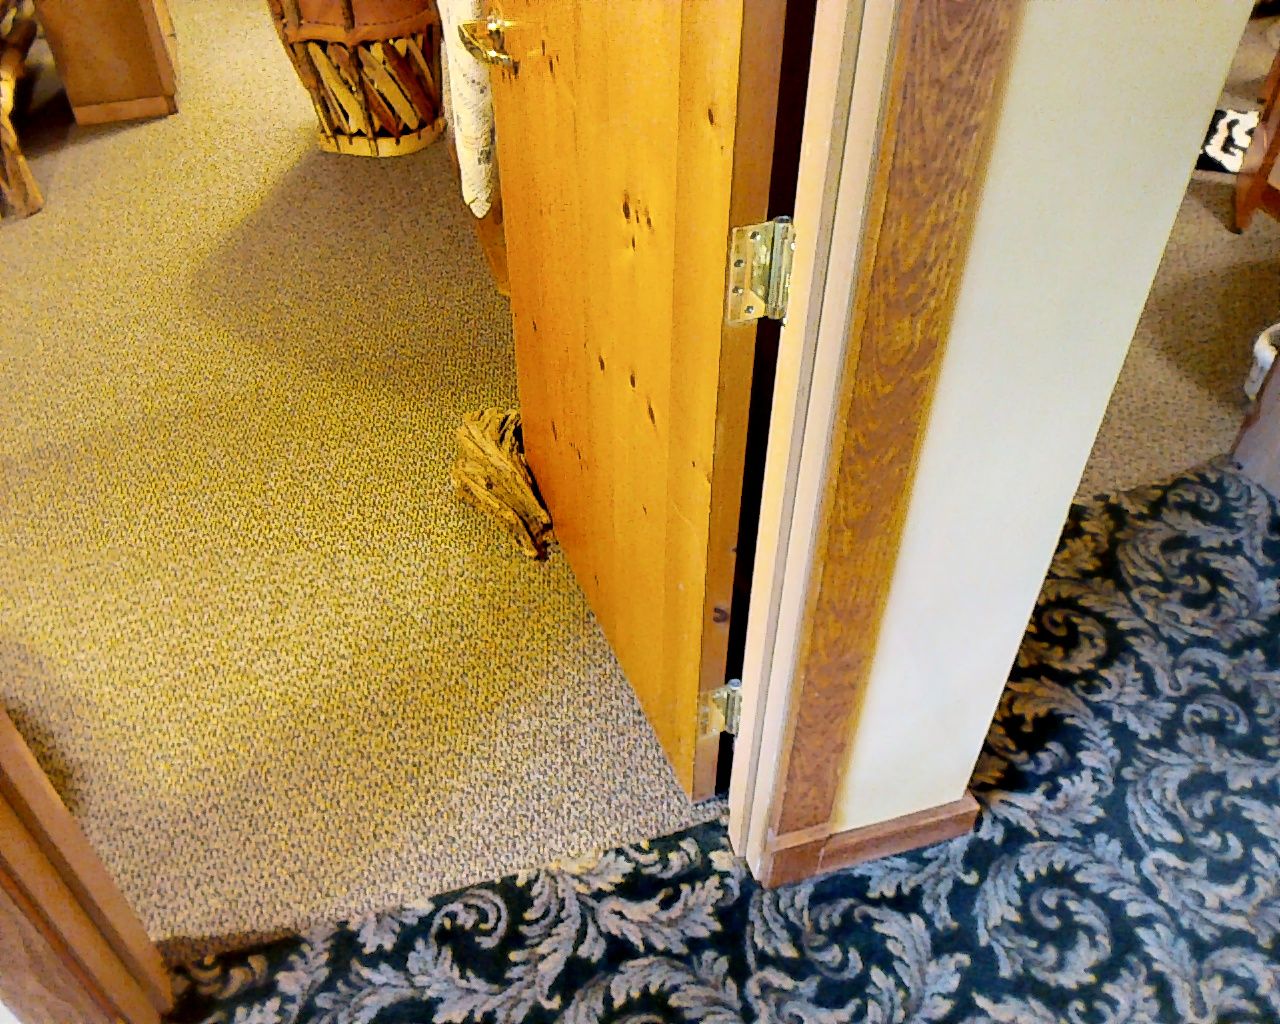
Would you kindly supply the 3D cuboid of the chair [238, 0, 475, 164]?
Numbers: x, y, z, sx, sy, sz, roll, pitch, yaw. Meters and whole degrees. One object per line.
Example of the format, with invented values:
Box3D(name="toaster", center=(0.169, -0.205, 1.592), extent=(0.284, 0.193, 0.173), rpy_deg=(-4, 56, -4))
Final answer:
Box3D(name="chair", center=(-0.940, -1.690, 3.650), extent=(0.530, 0.730, 0.650), rpy_deg=(7, 43, 7))
